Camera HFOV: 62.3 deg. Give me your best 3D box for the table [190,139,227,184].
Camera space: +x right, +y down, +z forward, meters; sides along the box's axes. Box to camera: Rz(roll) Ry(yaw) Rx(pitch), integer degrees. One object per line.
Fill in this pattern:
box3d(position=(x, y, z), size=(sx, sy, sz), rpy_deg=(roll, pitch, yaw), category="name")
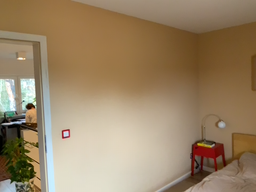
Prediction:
box3d(position=(1.380, 1.100, 3.640), size=(0.390, 0.560, 0.480), rpy_deg=(-5, 4, -43), category="table")
